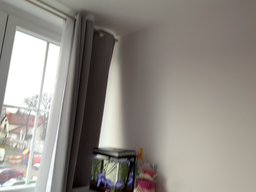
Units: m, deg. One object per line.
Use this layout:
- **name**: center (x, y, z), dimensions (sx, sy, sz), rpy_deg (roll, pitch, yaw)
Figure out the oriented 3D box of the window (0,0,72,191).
- **window**: center (-1.080, 0.310, 1.560), dimensions (1.090, 2.110, 0.140), rpy_deg (12, -11, -39)
